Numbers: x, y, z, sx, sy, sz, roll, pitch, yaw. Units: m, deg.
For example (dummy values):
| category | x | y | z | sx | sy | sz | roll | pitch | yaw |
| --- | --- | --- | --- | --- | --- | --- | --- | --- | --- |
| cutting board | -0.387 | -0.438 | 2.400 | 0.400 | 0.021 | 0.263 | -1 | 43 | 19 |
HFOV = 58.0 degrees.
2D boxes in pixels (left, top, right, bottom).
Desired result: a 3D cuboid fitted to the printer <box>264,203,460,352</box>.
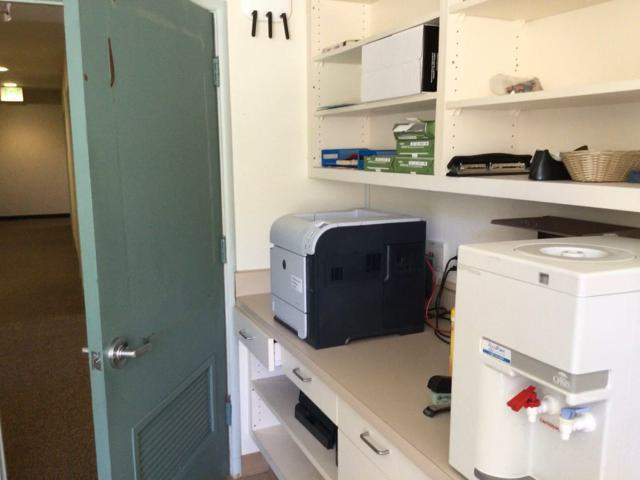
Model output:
| category | x | y | z | sx | sy | sz | roll | pitch | yaw |
| --- | --- | --- | --- | --- | --- | --- | --- | --- | --- |
| printer | 0.130 | 0.100 | 2.080 | 0.550 | 0.410 | 0.440 | -3 | 11 | -23 |

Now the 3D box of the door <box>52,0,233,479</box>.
| category | x | y | z | sx | sy | sz | roll | pitch | yaw |
| --- | --- | --- | --- | --- | --- | --- | --- | --- | --- |
| door | -0.530 | 0.140 | 1.990 | 0.160 | 2.060 | 0.830 | 3 | 10 | 12 |

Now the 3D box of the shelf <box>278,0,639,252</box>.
| category | x | y | z | sx | sy | sz | roll | pitch | yaw |
| --- | --- | --- | --- | --- | --- | --- | --- | --- | --- |
| shelf | 0.420 | -0.520 | 1.650 | 0.460 | 0.810 | 1.960 | -3 | 11 | -23 |

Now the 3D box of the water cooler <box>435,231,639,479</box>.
| category | x | y | z | sx | sy | sz | roll | pitch | yaw |
| --- | --- | --- | --- | --- | --- | --- | --- | --- | --- |
| water cooler | 0.510 | 0.240 | 1.060 | 0.450 | 0.450 | 0.340 | -3 | 11 | -23 |
